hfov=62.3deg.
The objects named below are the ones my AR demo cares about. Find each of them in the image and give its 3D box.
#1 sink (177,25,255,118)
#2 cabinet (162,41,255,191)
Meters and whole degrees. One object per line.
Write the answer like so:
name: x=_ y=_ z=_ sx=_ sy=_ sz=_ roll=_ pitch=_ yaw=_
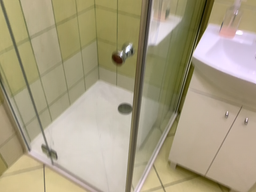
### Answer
sink: x=0.510 y=-0.100 z=0.870 sx=0.490 sy=0.140 sz=0.390 roll=21 pitch=44 yaw=18
cabinet: x=0.510 y=0.170 z=1.150 sx=0.450 sy=0.770 sz=0.300 roll=21 pitch=44 yaw=18
